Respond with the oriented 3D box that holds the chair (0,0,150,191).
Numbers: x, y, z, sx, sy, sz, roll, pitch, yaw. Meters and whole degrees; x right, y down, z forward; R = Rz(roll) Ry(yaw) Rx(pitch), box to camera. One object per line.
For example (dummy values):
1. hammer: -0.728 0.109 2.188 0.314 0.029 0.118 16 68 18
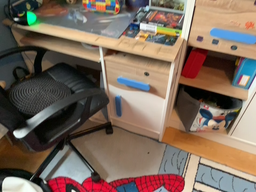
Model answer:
1. chair: -0.400 0.000 1.100 0.700 0.990 0.650 -32 54 -27
